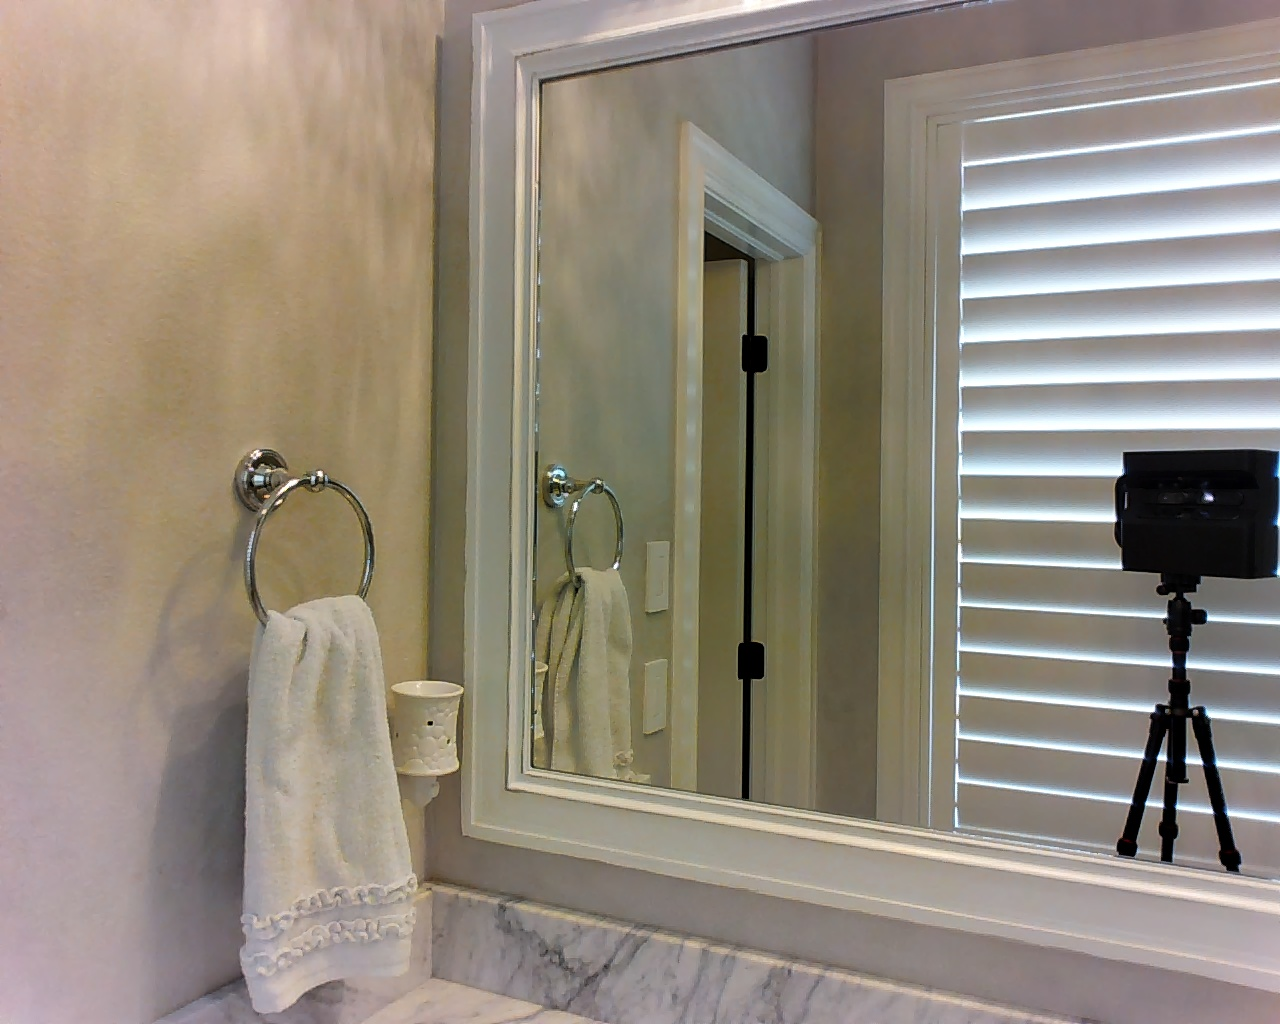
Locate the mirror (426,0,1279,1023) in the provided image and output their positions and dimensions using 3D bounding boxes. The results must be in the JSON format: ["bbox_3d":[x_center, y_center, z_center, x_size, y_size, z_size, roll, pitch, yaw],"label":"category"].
[{"bbox_3d":[0.270,-0.200,1.030,1.130,1.340,0.040,1,1,27],"label":"mirror"}]
